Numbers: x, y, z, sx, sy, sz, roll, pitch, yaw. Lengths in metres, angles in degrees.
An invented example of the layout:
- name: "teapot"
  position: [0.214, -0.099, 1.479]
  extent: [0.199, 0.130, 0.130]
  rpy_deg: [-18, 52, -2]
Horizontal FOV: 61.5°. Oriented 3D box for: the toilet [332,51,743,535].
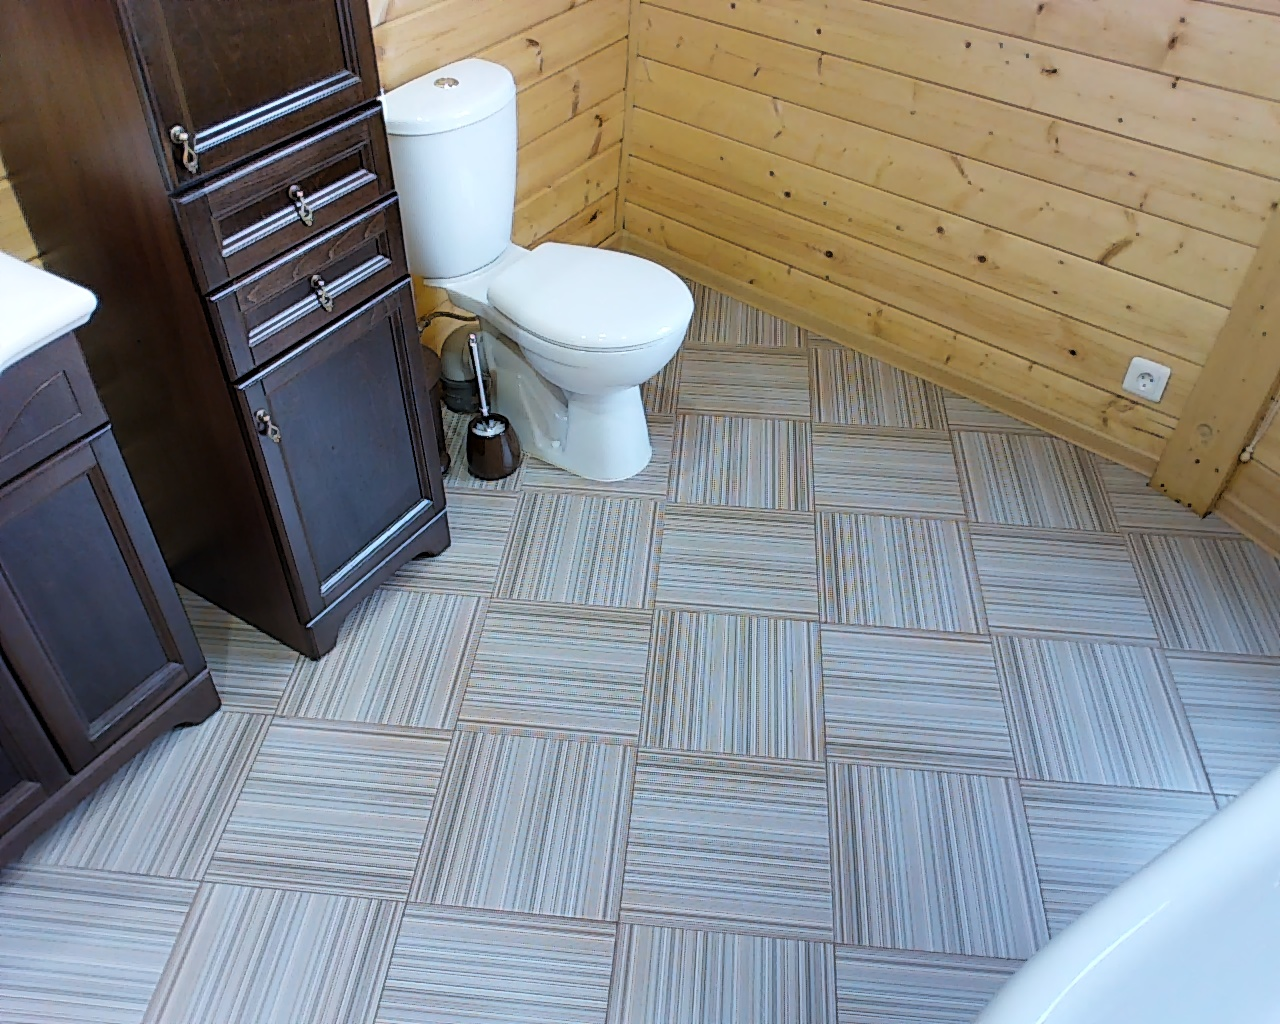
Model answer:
- name: "toilet"
  position: [-0.210, -0.480, 2.370]
  extent: [0.720, 0.800, 0.370]
  rpy_deg: [23, 46, 23]
